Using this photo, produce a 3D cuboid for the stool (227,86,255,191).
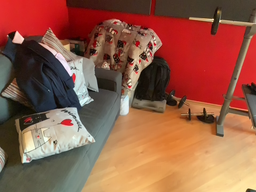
[{"bbox_3d":[1.160,0.340,1.890,0.290,0.430,1.010,11,31,12],"label":"stool"}]
